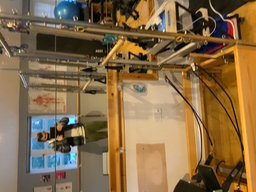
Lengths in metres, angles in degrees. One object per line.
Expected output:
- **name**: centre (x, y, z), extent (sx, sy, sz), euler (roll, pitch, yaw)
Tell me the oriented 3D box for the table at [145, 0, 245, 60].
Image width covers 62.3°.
- **table**: centre (0.570, -0.540, 1.890), extent (0.460, 0.690, 0.290), euler (162, 107, -69)
